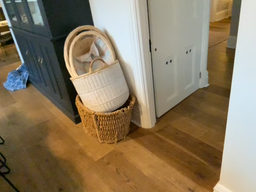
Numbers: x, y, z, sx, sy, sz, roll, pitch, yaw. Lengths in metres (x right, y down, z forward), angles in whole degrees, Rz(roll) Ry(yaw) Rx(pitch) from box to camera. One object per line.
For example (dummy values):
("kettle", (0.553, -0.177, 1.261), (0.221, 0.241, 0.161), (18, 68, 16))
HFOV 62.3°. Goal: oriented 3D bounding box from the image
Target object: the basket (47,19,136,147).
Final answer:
("basket", (-0.290, -0.130, 1.870), (0.390, 0.960, 0.510), (-28, 35, -32))
